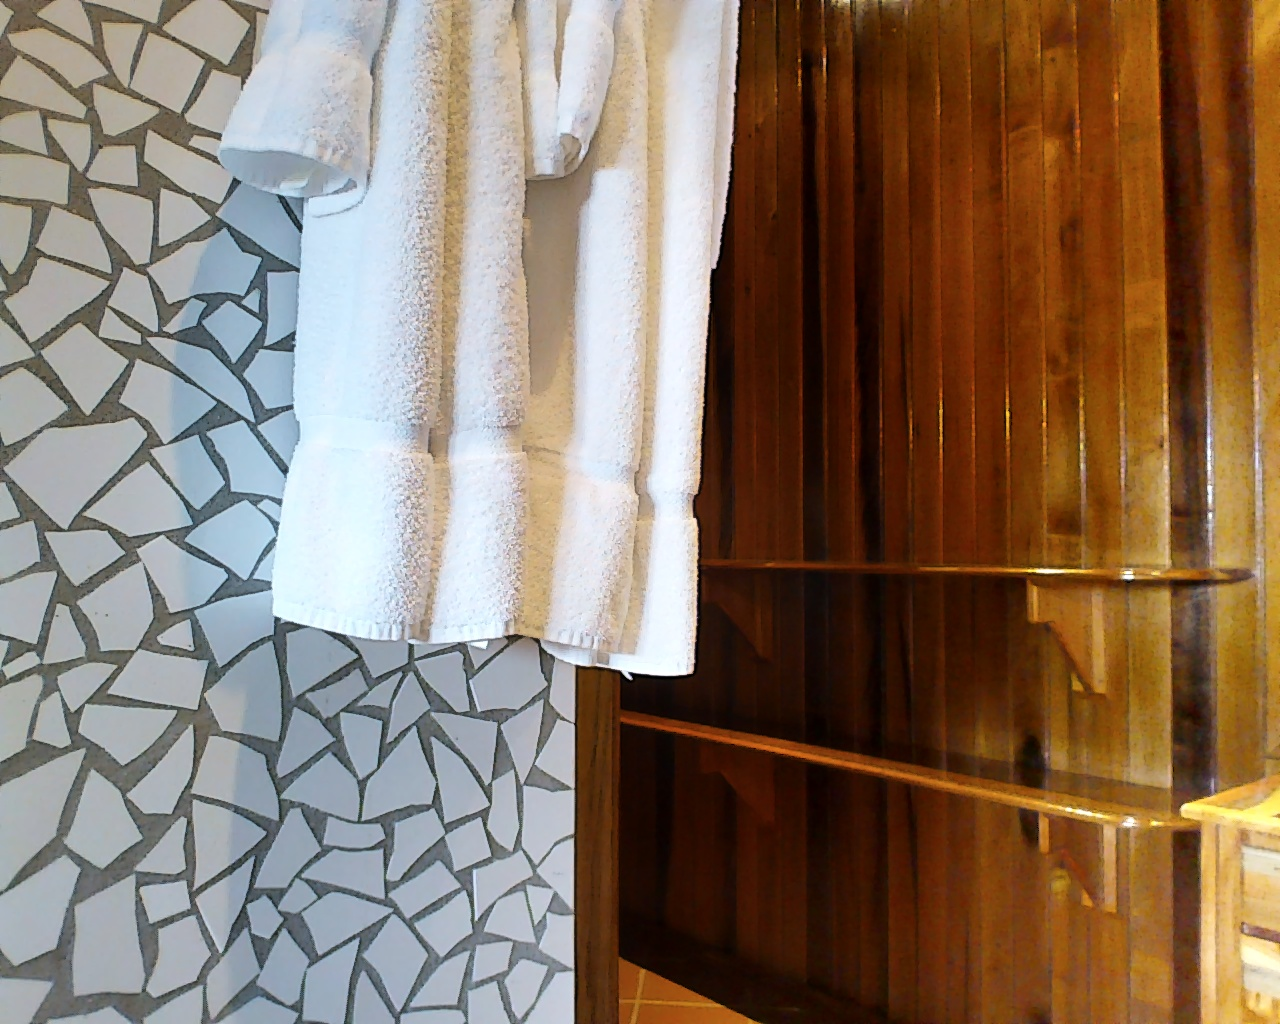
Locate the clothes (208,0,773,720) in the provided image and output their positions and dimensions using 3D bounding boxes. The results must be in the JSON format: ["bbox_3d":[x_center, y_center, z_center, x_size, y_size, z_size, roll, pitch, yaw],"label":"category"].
[{"bbox_3d":[-0.100,-0.260,0.820,0.370,0.770,0.200,2,-2,-40],"label":"clothes"}]
